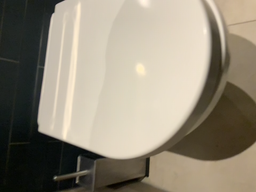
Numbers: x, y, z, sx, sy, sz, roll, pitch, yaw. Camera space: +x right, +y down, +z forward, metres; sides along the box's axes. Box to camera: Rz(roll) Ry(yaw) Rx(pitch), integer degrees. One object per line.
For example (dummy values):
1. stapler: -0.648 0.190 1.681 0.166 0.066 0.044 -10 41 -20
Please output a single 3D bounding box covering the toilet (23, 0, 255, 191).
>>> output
1. toilet: 0.060 -0.060 0.600 0.520 0.450 0.390 2 85 44
